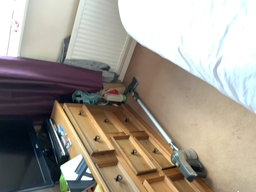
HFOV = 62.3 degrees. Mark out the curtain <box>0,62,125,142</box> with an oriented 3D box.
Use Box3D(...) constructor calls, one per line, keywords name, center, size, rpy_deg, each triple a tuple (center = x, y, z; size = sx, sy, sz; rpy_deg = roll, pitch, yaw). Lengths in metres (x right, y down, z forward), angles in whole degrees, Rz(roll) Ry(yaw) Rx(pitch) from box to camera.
Box3D(name="curtain", center=(-1.050, 0.070, 1.810), size=(0.160, 2.230, 0.680), rpy_deg=(41, 118, 45))
